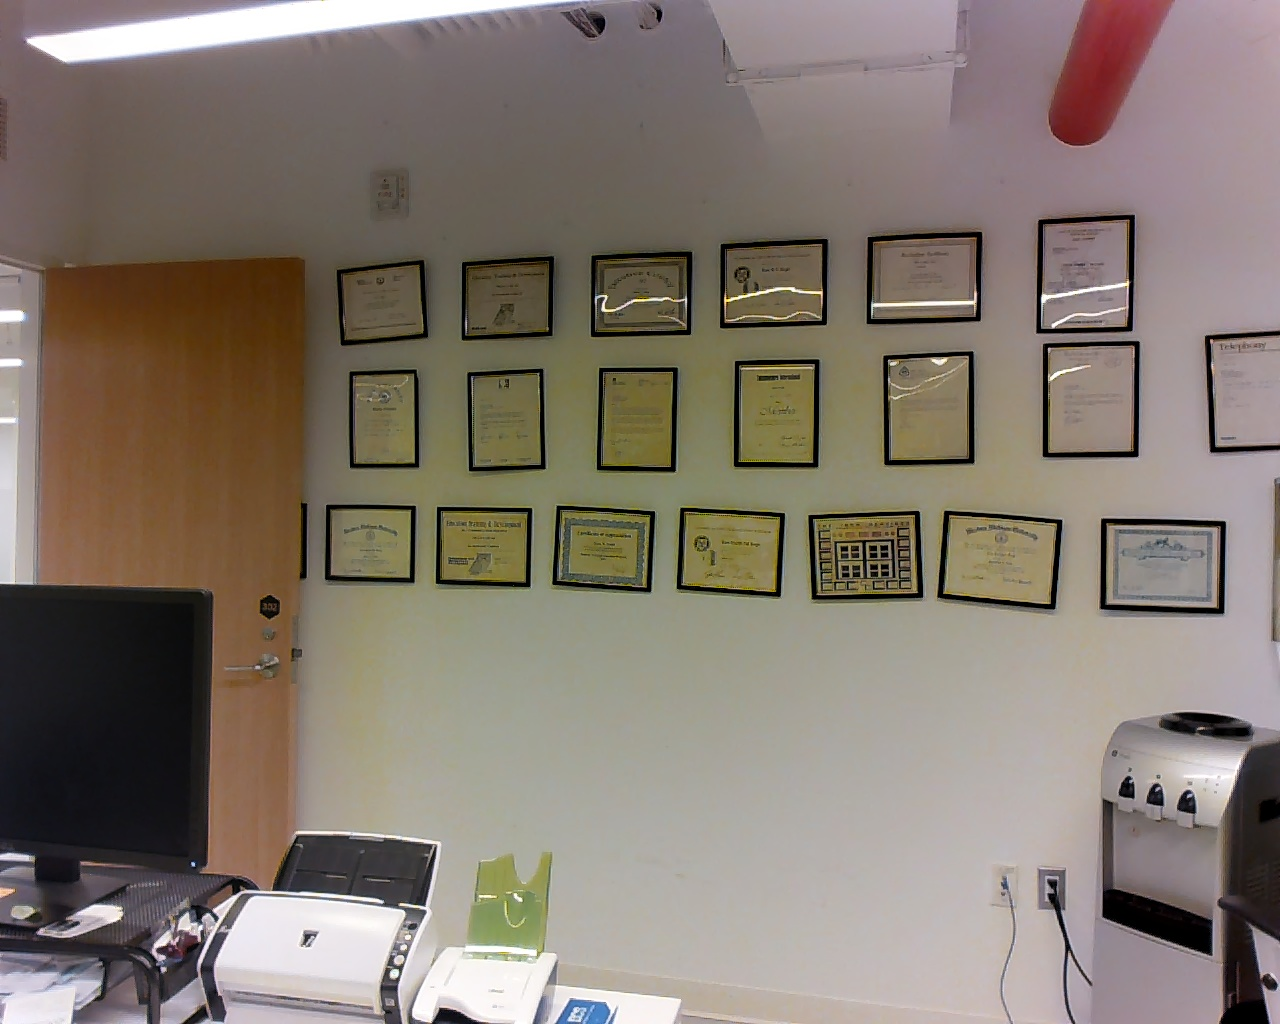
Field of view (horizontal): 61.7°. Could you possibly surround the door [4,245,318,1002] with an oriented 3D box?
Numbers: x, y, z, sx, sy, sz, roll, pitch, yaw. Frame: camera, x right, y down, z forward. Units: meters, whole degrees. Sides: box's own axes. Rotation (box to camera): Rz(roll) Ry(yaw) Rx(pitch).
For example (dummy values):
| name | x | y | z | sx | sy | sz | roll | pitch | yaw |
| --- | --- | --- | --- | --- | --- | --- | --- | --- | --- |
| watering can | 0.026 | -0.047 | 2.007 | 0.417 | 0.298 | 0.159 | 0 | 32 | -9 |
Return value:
| name | x | y | z | sx | sy | sz | roll | pitch | yaw |
| --- | --- | --- | --- | --- | --- | --- | --- | --- | --- |
| door | -1.510 | 0.320 | 3.350 | 1.020 | 2.250 | 0.080 | 1 | 0 | 14 |
